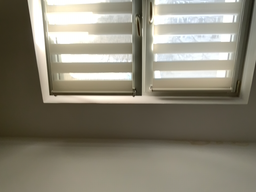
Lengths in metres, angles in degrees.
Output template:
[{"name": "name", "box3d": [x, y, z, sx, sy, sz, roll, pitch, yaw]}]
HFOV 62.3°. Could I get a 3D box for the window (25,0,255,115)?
[{"name": "window", "box3d": [0.100, -0.500, 1.400, 1.530, 1.240, 0.140, 2, -160, 7]}]
